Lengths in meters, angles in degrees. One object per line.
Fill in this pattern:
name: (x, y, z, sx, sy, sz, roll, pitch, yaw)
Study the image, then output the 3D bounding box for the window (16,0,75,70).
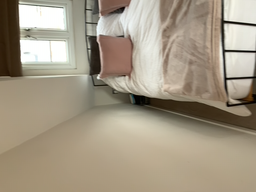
window: (-1.150, -0.870, 3.020, 0.120, 0.730, 0.980, -163, 71, -63)
